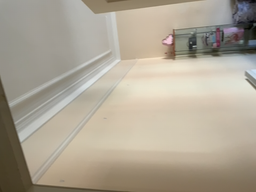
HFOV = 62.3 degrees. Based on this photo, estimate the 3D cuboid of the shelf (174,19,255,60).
[{"bbox_3d":[1.700,-1.040,4.000,0.500,1.620,0.460,38,-128,-74],"label":"shelf"}]
